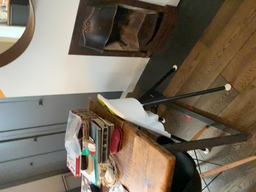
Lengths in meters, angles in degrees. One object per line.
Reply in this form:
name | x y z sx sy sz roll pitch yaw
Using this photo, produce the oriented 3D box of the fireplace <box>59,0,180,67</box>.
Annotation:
fireplace | -0.080 -0.560 1.740 0.350 0.800 0.520 59 138 33
